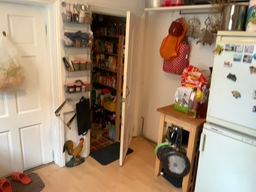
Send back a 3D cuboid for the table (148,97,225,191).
[{"bbox_3d":[0.680,0.530,2.500,0.660,0.850,0.500,-12,22,-42],"label":"table"}]
